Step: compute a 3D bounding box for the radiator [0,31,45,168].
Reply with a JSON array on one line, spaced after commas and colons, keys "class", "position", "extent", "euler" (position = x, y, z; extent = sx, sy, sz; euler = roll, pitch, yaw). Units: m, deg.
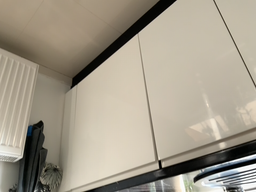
[{"class": "radiator", "position": [-0.800, -0.050, 1.060], "extent": [0.620, 0.700, 0.190], "euler": [22, 139, -37]}]
